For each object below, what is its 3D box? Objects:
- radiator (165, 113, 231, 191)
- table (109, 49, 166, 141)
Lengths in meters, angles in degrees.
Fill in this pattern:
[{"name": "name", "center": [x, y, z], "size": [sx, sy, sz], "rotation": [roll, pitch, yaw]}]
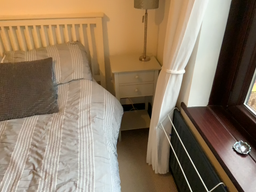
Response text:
[{"name": "radiator", "center": [0.400, 0.610, 1.170], "size": [0.050, 0.600, 0.920], "rotation": [-5, 32, -8]}, {"name": "table", "center": [0.060, -0.010, 2.060], "size": [0.430, 0.760, 0.430], "rotation": [-4, 32, -7]}]
